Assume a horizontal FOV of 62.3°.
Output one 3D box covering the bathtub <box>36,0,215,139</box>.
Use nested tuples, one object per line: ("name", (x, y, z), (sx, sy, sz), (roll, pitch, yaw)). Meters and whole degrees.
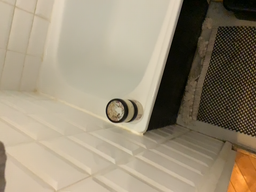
("bathtub", (0.080, -0.580, 1.190), (0.670, 0.540, 1.400), (19, 97, 27))
